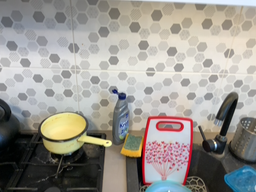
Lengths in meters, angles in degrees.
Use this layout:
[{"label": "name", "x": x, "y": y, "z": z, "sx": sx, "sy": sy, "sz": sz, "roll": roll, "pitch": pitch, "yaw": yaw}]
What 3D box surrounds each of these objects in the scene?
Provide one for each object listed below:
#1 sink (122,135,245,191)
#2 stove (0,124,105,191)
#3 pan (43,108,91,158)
[{"label": "sink", "x": 0.180, "y": 0.390, "z": 0.780, "sx": 0.390, "sy": 0.240, "sz": 0.460, "roll": 1, "pitch": 29, "yaw": -3}, {"label": "stove", "x": -0.400, "y": 0.270, "z": 0.710, "sx": 0.610, "sy": 0.020, "sz": 0.550, "roll": 1, "pitch": 29, "yaw": -3}, {"label": "pan", "x": -0.230, "y": 0.140, "z": 0.840, "sx": 0.140, "sy": 0.090, "sz": 0.200, "roll": 1, "pitch": 29, "yaw": -4}]
